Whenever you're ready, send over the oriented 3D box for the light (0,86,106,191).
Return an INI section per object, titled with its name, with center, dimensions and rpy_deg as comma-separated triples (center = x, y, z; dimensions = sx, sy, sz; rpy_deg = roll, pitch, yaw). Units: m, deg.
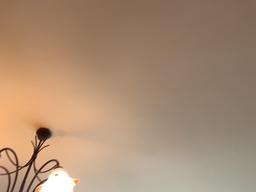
[light]
center = -0.560, 0.510, 1.300
dimensions = 0.440, 0.690, 0.910
rpy_deg = -3, -139, 18
